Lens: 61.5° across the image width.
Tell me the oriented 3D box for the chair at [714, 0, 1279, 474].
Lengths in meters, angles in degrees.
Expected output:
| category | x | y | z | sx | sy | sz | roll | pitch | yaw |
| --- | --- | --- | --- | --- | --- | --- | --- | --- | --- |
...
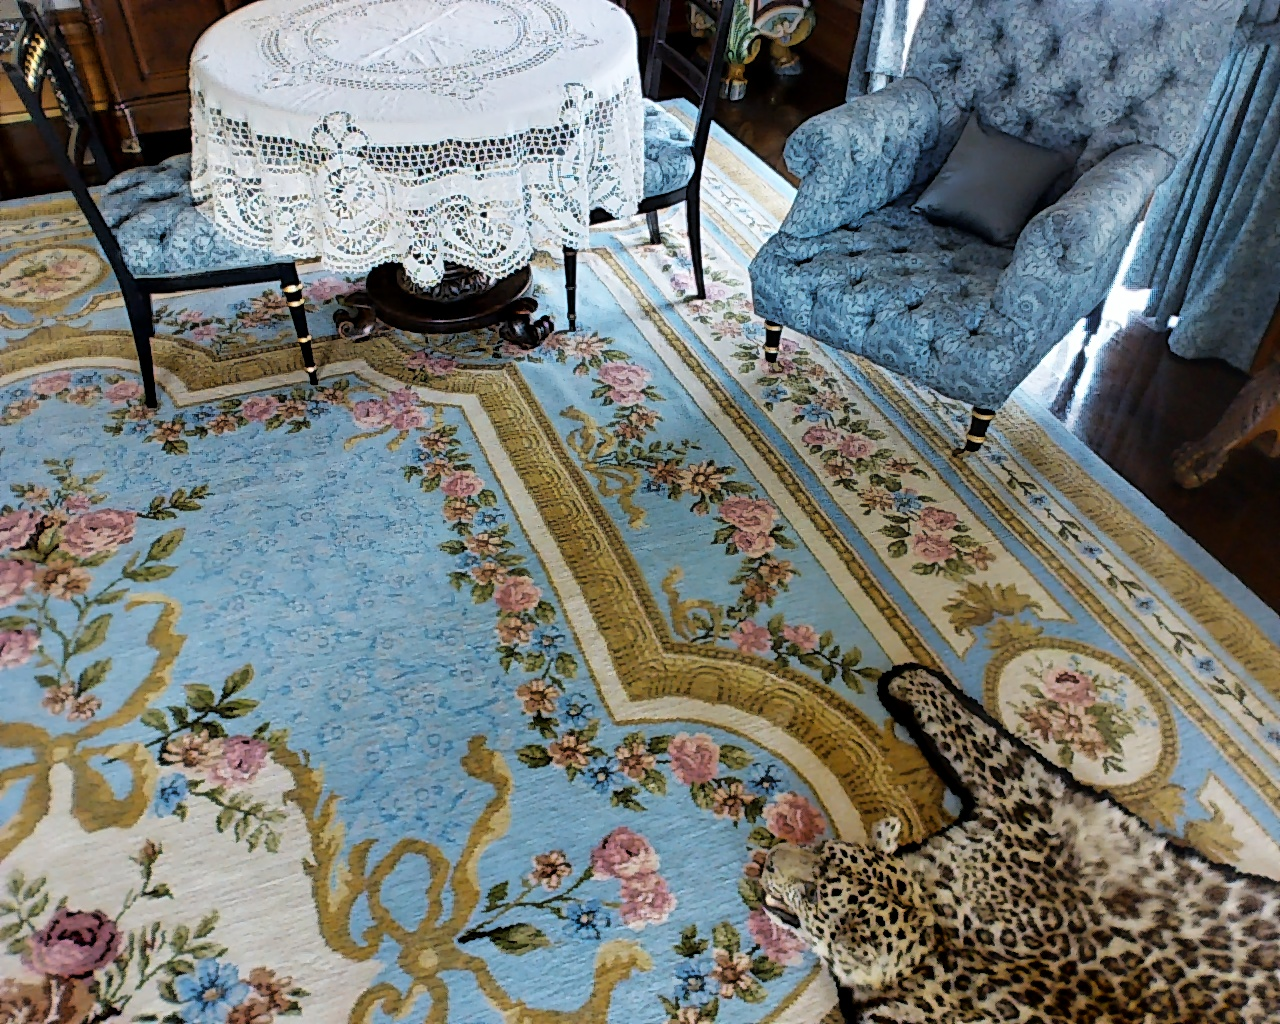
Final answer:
| category | x | y | z | sx | sy | sz | roll | pitch | yaw |
| --- | --- | --- | --- | --- | --- | --- | --- | --- | --- |
| chair | 0.840 | -0.850 | 2.530 | 0.850 | 0.860 | 1.040 | 27 | 49 | 27 |
